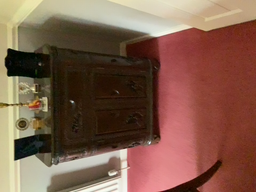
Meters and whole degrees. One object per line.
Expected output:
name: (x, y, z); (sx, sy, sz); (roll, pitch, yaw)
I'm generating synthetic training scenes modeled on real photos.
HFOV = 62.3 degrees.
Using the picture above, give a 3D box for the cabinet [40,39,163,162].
cabinet: (-0.180, 0.020, 1.680); (0.460, 0.840, 0.720); (0, 91, 51)
